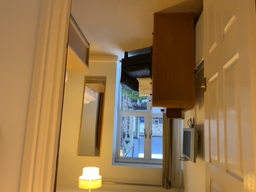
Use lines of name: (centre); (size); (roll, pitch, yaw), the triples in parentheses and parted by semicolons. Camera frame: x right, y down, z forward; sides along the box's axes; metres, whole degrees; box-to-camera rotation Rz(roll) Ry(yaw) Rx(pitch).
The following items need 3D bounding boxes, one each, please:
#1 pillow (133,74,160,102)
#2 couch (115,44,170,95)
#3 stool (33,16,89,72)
pillow: (0.330, -0.150, 3.830); (0.420, 0.380, 0.140); (17, -149, 21)
couch: (0.270, -0.420, 3.770); (0.730, 0.680, 0.640); (-4, 169, 34)
stool: (-0.890, -0.680, 3.030); (0.390, 0.420, 1.050); (2, 172, 3)
